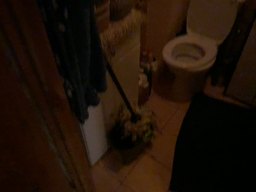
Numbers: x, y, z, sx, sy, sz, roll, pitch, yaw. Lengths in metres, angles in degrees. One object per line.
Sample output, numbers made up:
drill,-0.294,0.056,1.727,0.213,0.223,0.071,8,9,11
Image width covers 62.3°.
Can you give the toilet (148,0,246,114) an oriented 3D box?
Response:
toilet,0.530,-0.400,1.700,0.390,0.790,0.650,28,52,26
